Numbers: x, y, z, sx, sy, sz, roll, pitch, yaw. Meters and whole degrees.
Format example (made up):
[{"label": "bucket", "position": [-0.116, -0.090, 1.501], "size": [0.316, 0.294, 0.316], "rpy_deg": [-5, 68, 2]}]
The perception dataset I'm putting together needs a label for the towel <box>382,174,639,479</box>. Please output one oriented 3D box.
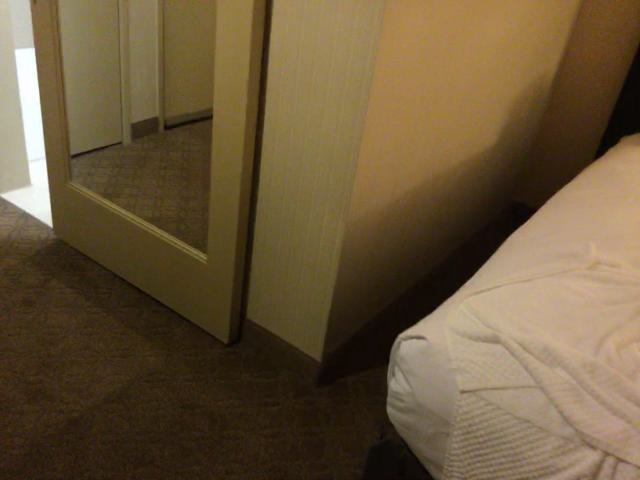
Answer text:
[{"label": "towel", "position": [0.480, 0.230, 0.930], "size": [0.500, 0.190, 0.600], "rpy_deg": [26, 59, 28]}]
